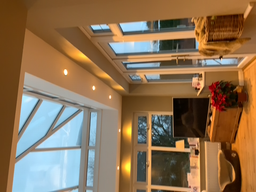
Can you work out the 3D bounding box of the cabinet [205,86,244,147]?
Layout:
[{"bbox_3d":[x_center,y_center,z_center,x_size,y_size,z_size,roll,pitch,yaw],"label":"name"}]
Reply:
[{"bbox_3d":[1.700,0.380,3.830,0.540,0.420,0.970,-73,-20,-51],"label":"cabinet"}]

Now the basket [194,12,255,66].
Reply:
[{"bbox_3d":[0.730,-0.410,1.650,0.500,0.370,0.210,41,-129,-75],"label":"basket"}]

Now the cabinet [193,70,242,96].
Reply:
[{"bbox_3d":[1.540,-0.210,3.750,0.680,0.670,0.330,29,-118,-77],"label":"cabinet"}]

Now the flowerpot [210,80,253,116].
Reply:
[{"bbox_3d":[1.570,0.030,3.280,0.350,0.470,0.420,77,-162,-50],"label":"flowerpot"}]
